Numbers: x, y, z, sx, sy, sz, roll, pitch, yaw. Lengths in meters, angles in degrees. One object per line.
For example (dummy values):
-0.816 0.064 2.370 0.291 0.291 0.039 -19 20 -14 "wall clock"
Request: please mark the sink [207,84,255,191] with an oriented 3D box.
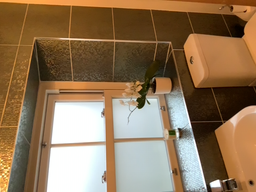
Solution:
0.650 0.350 0.970 0.470 0.190 0.680 107 161 -59 "sink"
